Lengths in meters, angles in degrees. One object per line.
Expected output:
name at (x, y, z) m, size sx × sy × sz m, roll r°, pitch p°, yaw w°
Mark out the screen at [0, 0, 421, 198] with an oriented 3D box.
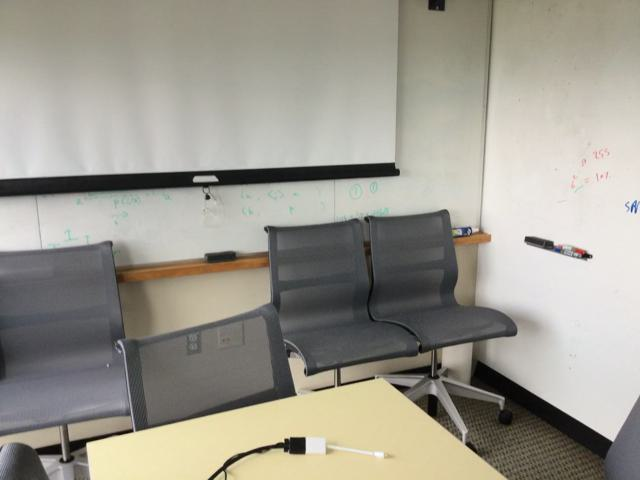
screen at (-0.450, -1.040, 2.100) m, size 1.830 × 1.670 × 0.130 m, roll -6°, pitch 14°, yaw -22°
